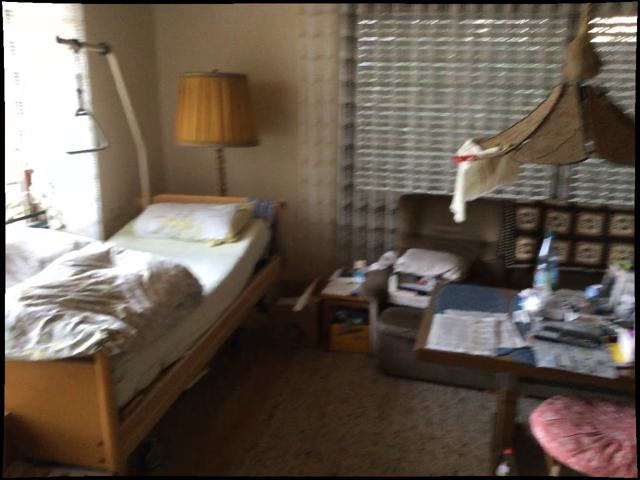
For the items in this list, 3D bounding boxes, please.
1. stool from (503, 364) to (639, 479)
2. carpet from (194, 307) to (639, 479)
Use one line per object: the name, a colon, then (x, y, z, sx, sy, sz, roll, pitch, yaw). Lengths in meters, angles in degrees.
stool: (0.909, 0.781, 1.940, 0.440, 0.460, 0.450, 15, 22, 35)
carpet: (0.629, 0.891, 2.390, 2.028, 0.110, 2.230, 6, 18, 11)
